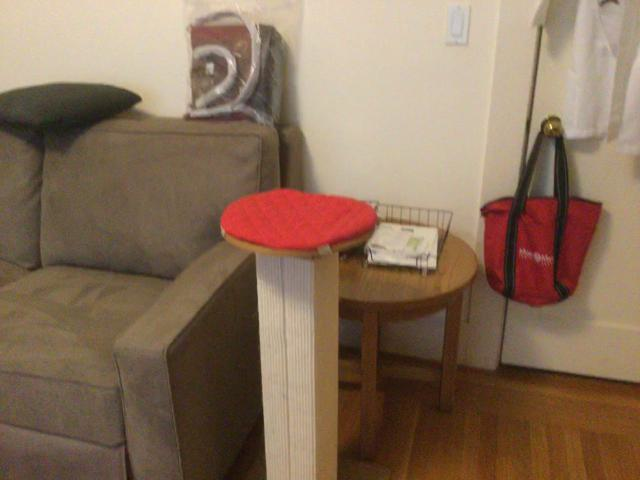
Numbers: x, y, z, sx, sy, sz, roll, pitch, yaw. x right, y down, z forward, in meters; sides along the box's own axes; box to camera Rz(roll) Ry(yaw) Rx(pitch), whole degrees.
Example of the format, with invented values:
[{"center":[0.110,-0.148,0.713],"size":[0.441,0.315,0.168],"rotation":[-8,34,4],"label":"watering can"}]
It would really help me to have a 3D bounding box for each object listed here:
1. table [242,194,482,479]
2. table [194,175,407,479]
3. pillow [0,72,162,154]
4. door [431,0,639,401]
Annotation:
[{"center":[0.170,0.260,1.820],"size":[0.600,0.610,0.590],"rotation":[5,25,14],"label":"table"},{"center":[-0.010,0.320,1.370],"size":[0.360,0.860,0.340],"rotation":[5,25,14],"label":"table"},{"center":[-0.860,-0.430,1.870],"size":[0.480,0.140,0.450],"rotation":[11,27,26],"label":"pillow"},{"center":[0.910,-0.460,1.600],"size":[1.070,2.070,0.170],"rotation":[5,25,14],"label":"door"}]
